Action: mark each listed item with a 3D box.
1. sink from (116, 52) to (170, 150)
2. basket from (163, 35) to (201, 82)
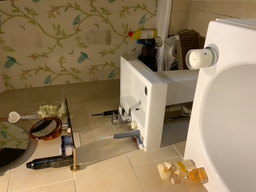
[{"bbox_3d":[0.060,0.000,1.360,0.520,0.130,0.430,-127,34,-57],"label":"sink"},{"bbox_3d":[0.470,-0.350,1.910,0.290,0.190,0.380,-141,46,-65],"label":"basket"}]
